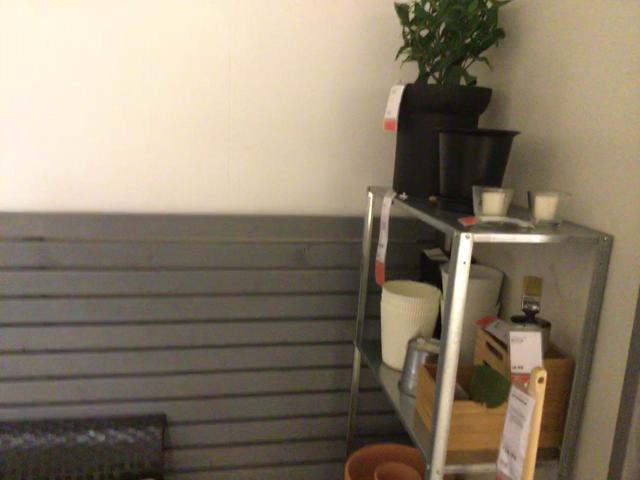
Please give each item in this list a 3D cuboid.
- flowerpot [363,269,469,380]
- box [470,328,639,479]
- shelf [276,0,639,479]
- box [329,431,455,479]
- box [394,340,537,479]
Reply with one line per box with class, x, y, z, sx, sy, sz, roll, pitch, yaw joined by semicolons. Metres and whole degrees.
flowerpot;0.230;0.200;1.440;0.190;0.210;0.220;-1;9;-10
box;0.400;0.300;1.020;0.170;0.220;0.230;-1;9;-10
shelf;0.190;0.390;1.320;0.490;1.850;0.840;-1;9;-10
box;0.180;0.640;1.480;0.260;0.150;0.300;-1;9;-10
box;0.260;0.320;1.120;0.120;0.130;0.370;-1;9;-10
